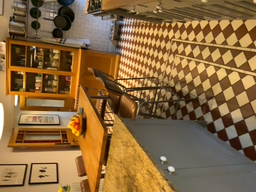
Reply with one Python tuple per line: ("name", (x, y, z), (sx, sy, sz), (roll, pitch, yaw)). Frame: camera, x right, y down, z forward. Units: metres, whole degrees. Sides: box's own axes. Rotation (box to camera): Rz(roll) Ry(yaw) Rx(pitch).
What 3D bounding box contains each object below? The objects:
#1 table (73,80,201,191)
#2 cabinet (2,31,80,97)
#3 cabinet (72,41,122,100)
("table", (-0.050, 0.370, 2.590), (1.430, 0.980, 0.720), (-138, 55, -63))
("cabinet", (-1.690, -0.590, 4.150), (0.350, 1.300, 1.070), (-135, 53, -62))
("cabinet", (-0.680, -0.520, 4.480), (0.480, 0.820, 1.070), (-135, 53, -62))
